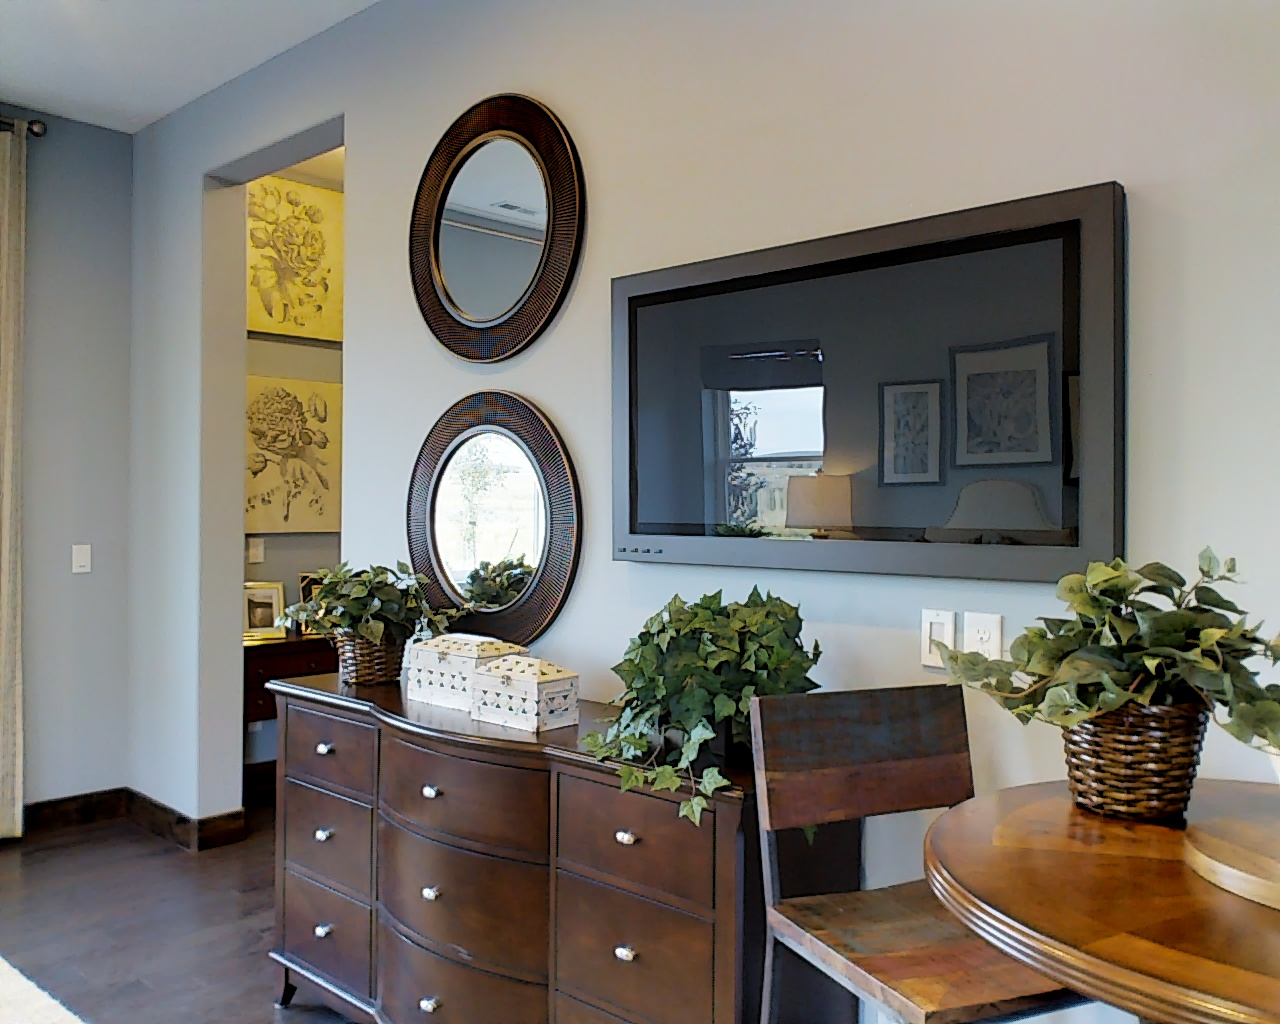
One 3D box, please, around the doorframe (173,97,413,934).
[{"bbox_3d":[-1.320,0.010,3.980,1.110,2.730,0.320,1,1,42],"label":"doorframe"}]
